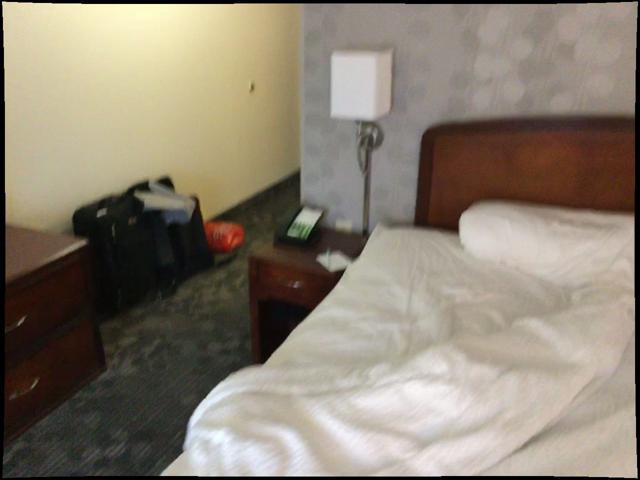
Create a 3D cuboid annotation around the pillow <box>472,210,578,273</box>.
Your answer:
[{"bbox_3d":[0.729,0.000,2.060,0.330,0.110,0.160,11,27,21],"label":"pillow"}]
